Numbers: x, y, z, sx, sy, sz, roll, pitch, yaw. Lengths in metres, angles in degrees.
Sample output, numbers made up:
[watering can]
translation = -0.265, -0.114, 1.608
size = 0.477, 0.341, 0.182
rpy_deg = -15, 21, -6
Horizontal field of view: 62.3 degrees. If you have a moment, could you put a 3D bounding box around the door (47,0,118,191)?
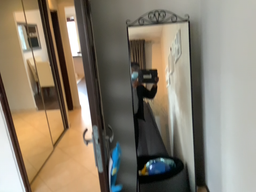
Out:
[door]
translation = -0.200, 0.150, 1.320
size = 0.090, 2.220, 0.810
rpy_deg = -5, 18, 0
